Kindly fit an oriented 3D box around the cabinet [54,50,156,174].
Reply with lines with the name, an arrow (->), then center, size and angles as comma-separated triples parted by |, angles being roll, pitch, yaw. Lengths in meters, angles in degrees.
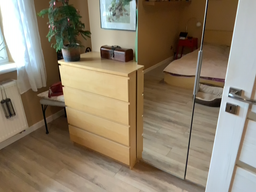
cabinet -> -0.220, 0.110, 2.240 | 0.840, 1.010, 0.500 | 15, 29, 30
